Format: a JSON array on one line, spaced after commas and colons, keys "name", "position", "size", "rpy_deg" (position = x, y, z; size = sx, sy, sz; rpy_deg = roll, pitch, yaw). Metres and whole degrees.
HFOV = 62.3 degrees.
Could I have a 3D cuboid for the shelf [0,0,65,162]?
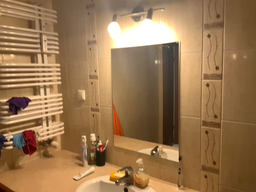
[{"name": "shelf", "position": [-0.790, -0.160, 1.530], "size": [0.250, 1.100, 0.530], "rpy_deg": [4, 9, 37]}]
